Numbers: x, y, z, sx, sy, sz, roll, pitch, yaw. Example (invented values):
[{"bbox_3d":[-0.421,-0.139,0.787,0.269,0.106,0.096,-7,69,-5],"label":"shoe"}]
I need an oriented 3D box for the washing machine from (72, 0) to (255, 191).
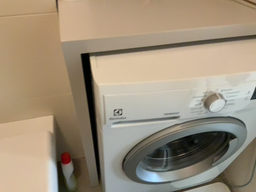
[{"bbox_3d":[0.150,0.060,0.950,0.630,0.800,0.540,-9,49,-13],"label":"washing machine"}]
